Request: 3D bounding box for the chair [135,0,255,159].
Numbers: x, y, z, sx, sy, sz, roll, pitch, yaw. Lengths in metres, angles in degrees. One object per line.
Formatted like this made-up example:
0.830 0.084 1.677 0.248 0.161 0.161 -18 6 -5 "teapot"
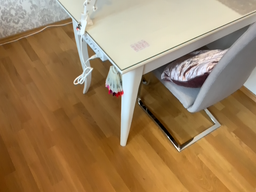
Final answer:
0.420 -0.150 1.190 0.490 0.990 0.500 -18 56 -19 "chair"
